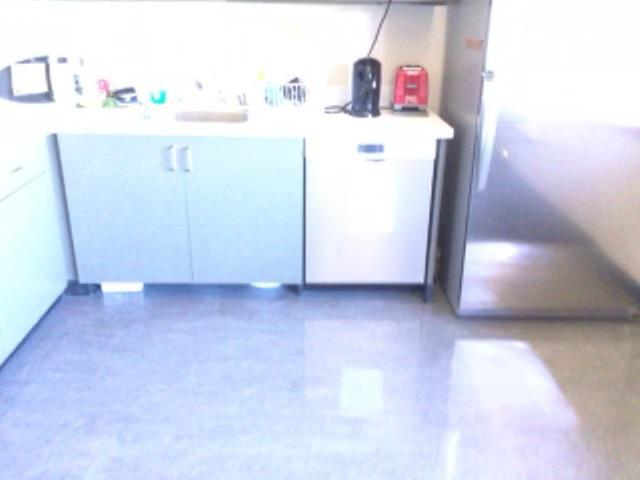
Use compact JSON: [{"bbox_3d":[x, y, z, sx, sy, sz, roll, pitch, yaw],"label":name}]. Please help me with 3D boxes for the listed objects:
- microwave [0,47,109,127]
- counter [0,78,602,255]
[{"bbox_3d":[-1.390,-0.720,2.660,0.430,0.300,0.620,15,25,35],"label":"microwave"},{"bbox_3d":[-0.580,-0.400,2.170,2.360,0.250,1.810,-2,20,-4],"label":"counter"}]
